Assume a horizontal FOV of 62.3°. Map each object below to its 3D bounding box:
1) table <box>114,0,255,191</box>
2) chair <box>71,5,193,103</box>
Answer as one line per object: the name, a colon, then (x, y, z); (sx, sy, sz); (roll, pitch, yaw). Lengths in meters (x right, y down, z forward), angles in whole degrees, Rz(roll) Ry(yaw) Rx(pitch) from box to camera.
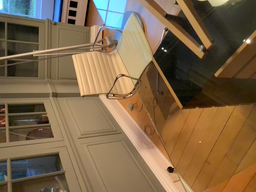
table: (0.400, -0.800, 1.440); (0.850, 0.600, 2.460); (-54, 47, 46)
chair: (0.000, -0.330, 1.920); (0.570, 0.820, 0.530); (-54, 47, 46)
